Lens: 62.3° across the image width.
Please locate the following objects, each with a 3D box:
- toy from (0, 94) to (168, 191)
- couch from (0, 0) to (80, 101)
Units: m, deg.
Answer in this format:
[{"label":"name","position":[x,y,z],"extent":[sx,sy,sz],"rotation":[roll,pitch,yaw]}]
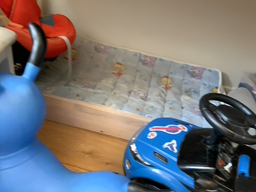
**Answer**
[{"label":"toy","position":[-0.170,0.260,0.520],"extent":[0.440,0.340,0.280],"rotation":[15,32,4]},{"label":"couch","position":[-0.520,-0.370,0.910],"extent":[0.540,0.570,0.420],"rotation":[9,32,-5]}]
